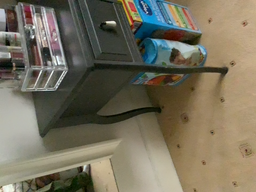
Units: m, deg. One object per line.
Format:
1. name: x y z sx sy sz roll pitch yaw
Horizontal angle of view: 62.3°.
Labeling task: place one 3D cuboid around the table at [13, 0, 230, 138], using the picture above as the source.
1. table: -0.170 -0.530 1.190 0.590 0.740 1.280 -41 61 47
